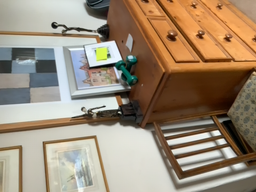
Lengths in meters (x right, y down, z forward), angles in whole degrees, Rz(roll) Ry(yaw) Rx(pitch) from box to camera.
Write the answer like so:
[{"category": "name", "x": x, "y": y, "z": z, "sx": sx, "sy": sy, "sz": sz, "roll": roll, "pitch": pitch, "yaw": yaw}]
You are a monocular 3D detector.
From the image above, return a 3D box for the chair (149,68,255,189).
[{"category": "chair", "x": 0.660, "y": 0.150, "z": 1.190, "sx": 0.490, "sy": 0.910, "sz": 0.360, "roll": 108, "pitch": 150, "yaw": -43}]
